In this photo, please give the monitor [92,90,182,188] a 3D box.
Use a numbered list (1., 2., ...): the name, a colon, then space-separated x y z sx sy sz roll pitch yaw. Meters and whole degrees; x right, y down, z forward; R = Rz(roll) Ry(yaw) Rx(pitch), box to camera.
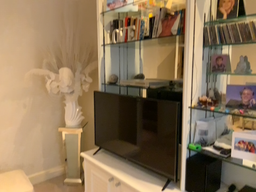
1. monitor: 0.010 0.290 1.790 0.040 0.610 0.970 -9 12 -44
